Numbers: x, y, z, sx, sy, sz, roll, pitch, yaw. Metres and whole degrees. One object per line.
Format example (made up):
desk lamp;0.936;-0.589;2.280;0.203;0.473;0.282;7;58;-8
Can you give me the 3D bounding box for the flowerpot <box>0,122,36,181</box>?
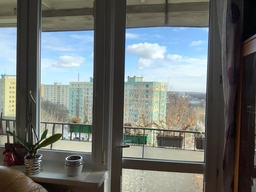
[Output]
flowerpot;-1.000;0.460;1.810;0.370;0.430;0.160;2;2;13
